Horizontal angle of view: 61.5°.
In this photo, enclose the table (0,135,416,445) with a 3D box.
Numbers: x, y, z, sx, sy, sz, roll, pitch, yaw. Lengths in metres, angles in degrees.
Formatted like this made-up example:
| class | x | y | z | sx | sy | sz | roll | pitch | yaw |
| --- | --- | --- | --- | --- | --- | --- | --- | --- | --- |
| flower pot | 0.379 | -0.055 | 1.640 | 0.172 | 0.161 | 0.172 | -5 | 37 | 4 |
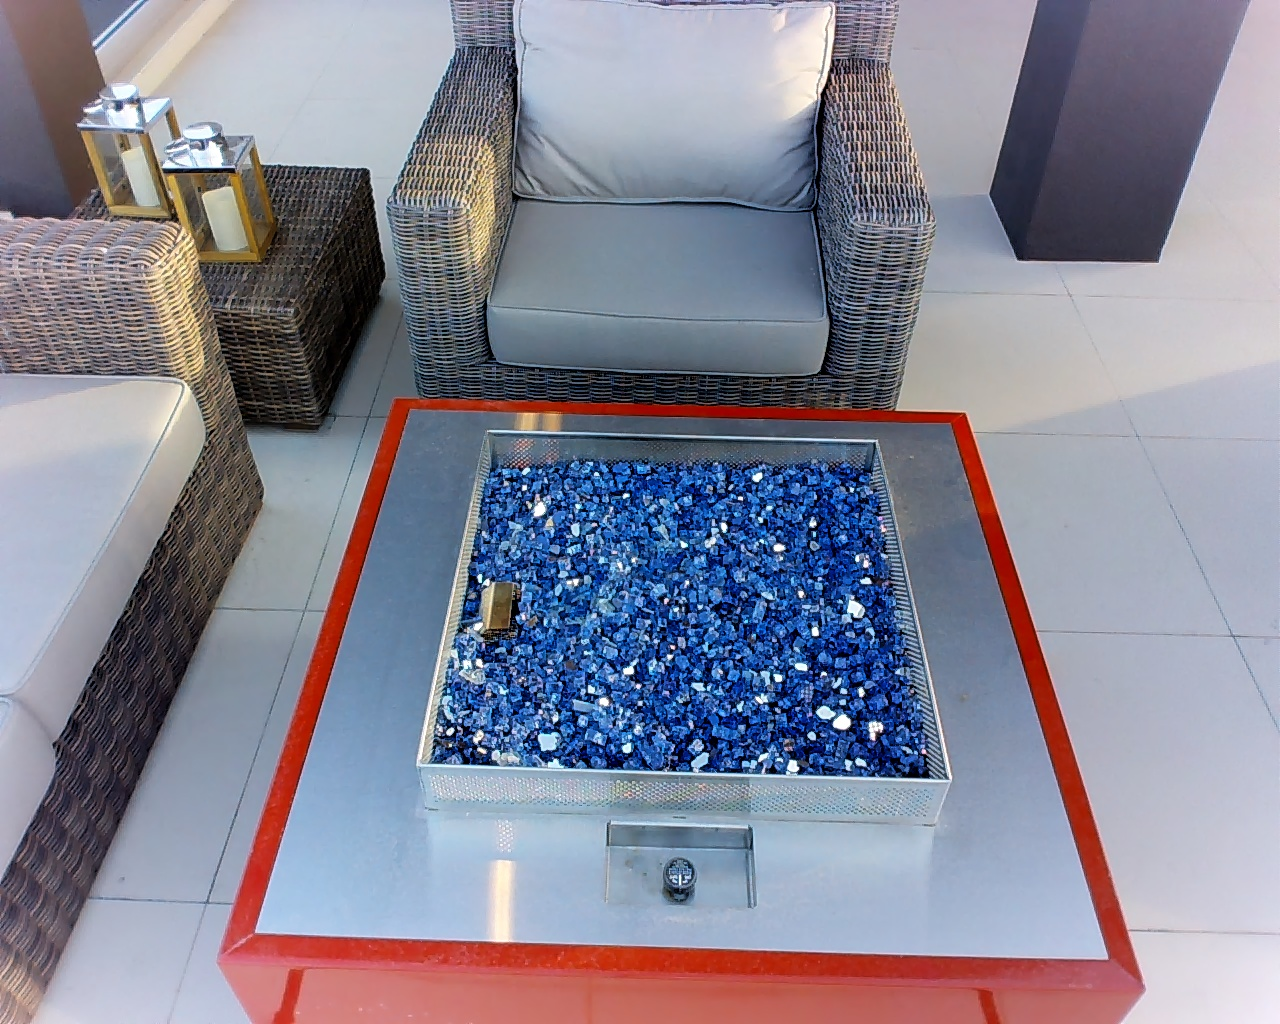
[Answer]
| class | x | y | z | sx | sy | sz | roll | pitch | yaw |
| --- | --- | --- | --- | --- | --- | --- | --- | --- | --- |
| table | -0.980 | -0.550 | 2.560 | 0.700 | 0.380 | 0.720 | 2 | 43 | 2 |
